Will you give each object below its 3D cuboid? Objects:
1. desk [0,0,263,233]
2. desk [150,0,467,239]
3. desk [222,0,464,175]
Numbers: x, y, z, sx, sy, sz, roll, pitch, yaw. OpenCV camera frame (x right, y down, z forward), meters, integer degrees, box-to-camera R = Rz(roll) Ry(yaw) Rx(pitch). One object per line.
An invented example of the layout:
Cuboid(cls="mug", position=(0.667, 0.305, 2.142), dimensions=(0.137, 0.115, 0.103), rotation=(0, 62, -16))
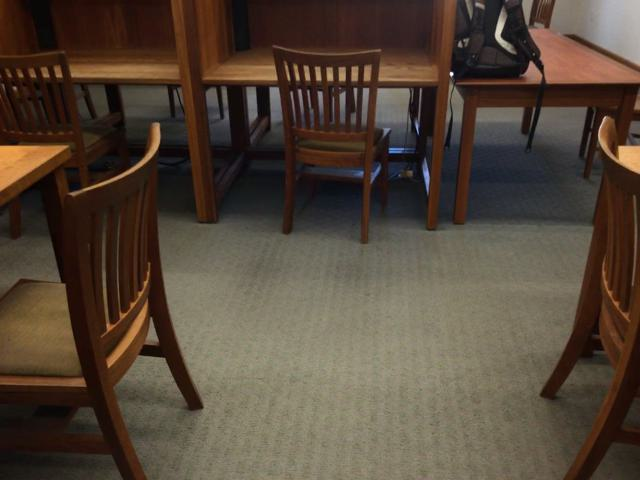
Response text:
Cuboid(cls="desk", position=(-1.150, -0.870, 3.180), dimensions=(1.350, 1.400, 0.900), rotation=(-1, 26, 8))
Cuboid(cls="desk", position=(0.030, -0.900, 3.150), dimensions=(1.370, 1.430, 1.120), rotation=(-1, 26, 8))
Cuboid(cls="desk", position=(0.200, -1.270, 3.820), dimensions=(1.350, 1.360, 1.040), rotation=(-1, 26, 8))
